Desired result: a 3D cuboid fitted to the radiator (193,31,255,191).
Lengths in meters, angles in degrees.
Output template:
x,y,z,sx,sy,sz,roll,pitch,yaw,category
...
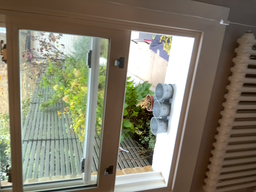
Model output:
x,y,z,sx,sy,sz,roll,pitch,yaw,category
0.730,0.150,1.190,0.060,0.570,0.920,-132,47,-62,radiator
